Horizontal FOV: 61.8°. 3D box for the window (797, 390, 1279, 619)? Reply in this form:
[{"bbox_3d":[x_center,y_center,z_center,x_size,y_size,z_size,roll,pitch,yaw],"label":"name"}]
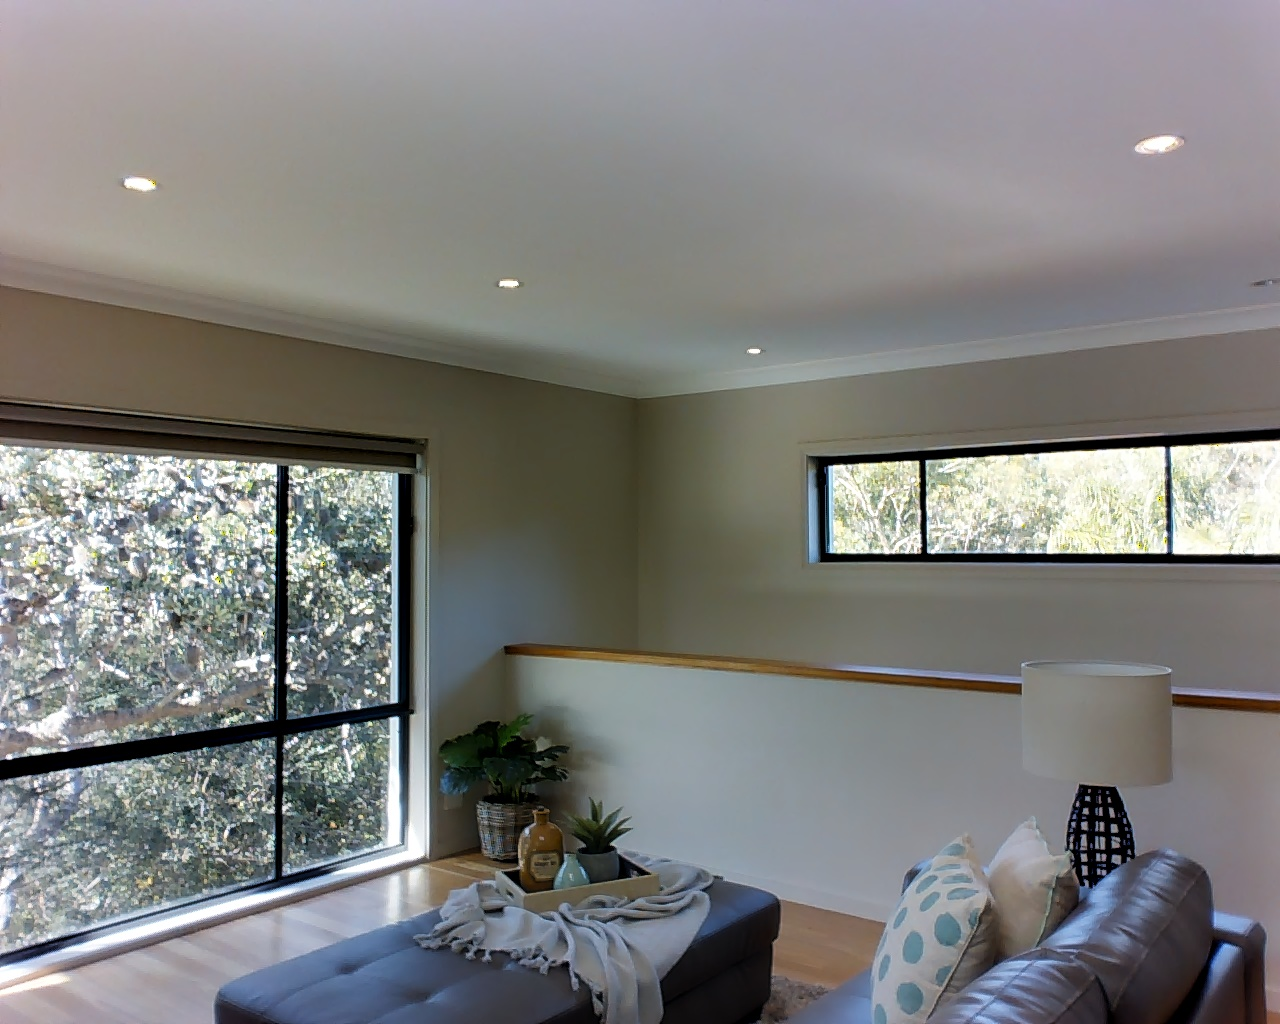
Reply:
[{"bbox_3d":[2.009,0.000,5.360,2.540,0.980,0.380,-2,-3,37],"label":"window"}]

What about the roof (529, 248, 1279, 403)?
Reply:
[{"bbox_3d":[1.550,-0.810,4.880,4.649,0.130,1.050,-1,-3,38],"label":"roof"}]
